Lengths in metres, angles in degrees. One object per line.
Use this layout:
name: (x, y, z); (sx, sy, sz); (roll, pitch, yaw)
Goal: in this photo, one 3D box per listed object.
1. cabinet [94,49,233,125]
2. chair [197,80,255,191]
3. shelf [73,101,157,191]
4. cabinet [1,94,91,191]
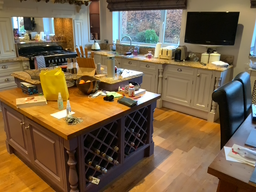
cabinet: (0.480, -0.350, 4.340); (2.840, 0.910, 0.560); (17, 24, 37)
chair: (0.950, 0.510, 1.570); (0.640, 1.090, 0.430); (17, 24, 37)
shelf: (-0.070, 0.500, 2.140); (0.070, 0.690, 1.050); (18, 24, 39)
cabinet: (-0.880, 0.460, 2.180); (1.190, 0.670, 0.290); (17, 24, 40)
